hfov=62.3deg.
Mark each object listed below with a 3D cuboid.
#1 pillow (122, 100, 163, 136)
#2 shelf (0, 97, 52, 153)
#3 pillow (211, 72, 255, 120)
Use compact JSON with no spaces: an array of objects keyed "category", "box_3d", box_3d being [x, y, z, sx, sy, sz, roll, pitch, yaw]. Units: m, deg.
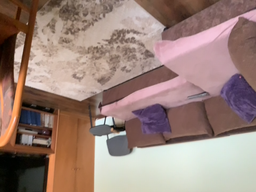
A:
[{"category":"pillow","box_3d":[0.180,0.300,2.730,0.410,0.330,0.310,-19,153,37]},{"category":"shelf","box_3d":[-1.690,0.500,3.440,0.510,0.740,0.620,-19,153,37]},{"category":"pillow","box_3d":[1.060,0.020,2.050,0.360,0.290,0.480,-5,159,8]}]
